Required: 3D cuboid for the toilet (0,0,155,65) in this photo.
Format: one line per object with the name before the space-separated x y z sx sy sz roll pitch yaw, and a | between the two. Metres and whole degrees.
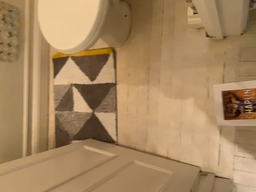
toilet | -0.250 -0.540 0.960 0.510 0.780 0.690 3 91 26
